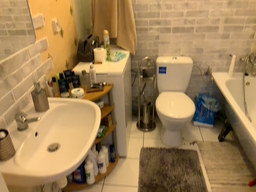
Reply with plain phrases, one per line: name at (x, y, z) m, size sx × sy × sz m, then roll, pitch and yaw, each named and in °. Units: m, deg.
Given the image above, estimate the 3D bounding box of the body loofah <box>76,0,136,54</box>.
body loofah at (-0.190, -0.850, 1.960) m, size 0.490 × 0.850 × 0.300 m, roll 2°, pitch 28°, yaw 7°

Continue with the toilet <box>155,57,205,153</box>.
toilet at (0.460, 0.060, 2.100) m, size 0.360 × 0.710 × 0.640 m, roll 2°, pitch 28°, yaw 7°
